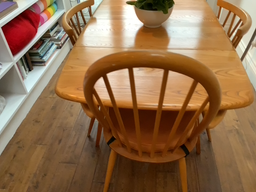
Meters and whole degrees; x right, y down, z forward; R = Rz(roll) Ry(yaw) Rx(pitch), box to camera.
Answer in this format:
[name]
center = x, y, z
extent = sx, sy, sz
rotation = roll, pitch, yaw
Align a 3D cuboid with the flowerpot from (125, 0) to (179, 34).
[flowerpot]
center = 0.120, -0.480, 1.050
extent = 0.240, 0.250, 0.220
rotation = 4, 42, 6
